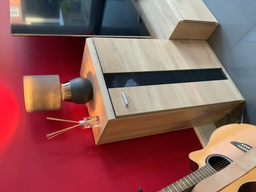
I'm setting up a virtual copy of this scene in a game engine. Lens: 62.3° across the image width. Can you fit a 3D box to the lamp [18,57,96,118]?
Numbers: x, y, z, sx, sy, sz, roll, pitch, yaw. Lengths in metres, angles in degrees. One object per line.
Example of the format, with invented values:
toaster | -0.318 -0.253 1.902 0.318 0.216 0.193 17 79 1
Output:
lamp | -0.370 -0.050 1.100 0.190 0.330 0.220 121 136 -53
